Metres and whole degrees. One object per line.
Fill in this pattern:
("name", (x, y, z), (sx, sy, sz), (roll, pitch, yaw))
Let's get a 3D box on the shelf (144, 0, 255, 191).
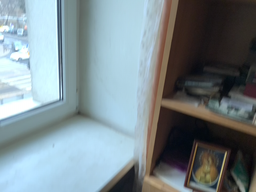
("shelf", (0.370, -0.180, 0.720), (0.360, 0.950, 0.420), (18, 24, 28))
